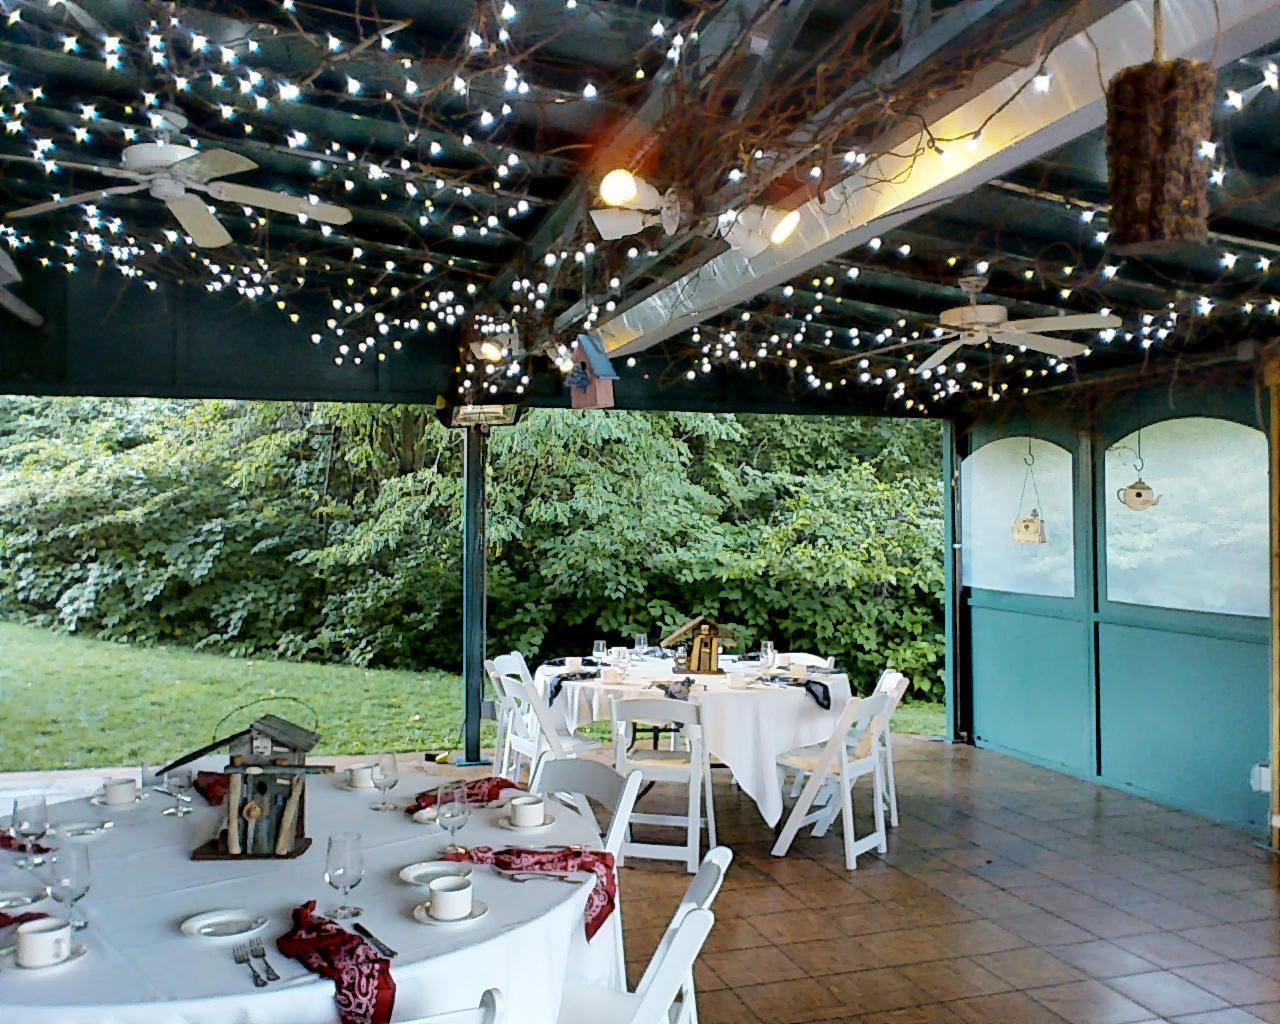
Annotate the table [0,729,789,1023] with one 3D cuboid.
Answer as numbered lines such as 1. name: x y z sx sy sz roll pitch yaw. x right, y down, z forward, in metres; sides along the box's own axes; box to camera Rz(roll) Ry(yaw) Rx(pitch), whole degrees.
1. table: -0.930 1.160 2.550 1.840 0.810 1.760 1 -1 -39

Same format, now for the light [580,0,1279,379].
1. light: 0.830 -1.010 2.900 0.440 0.430 6.670 0 -1 -17

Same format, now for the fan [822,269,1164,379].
1. fan: 1.500 -0.820 4.900 1.240 0.250 1.240 0 -1 6

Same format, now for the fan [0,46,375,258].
1. fan: -1.740 -1.230 3.880 1.170 0.290 1.260 0 -1 6
